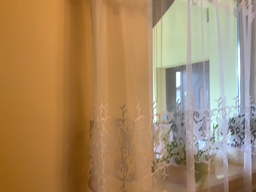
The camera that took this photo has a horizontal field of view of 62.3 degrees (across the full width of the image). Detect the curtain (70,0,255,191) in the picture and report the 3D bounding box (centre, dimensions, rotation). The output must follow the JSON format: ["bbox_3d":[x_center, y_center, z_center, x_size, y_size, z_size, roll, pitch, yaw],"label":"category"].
[{"bbox_3d":[0.620,0.030,1.470,1.950,2.850,0.310,-1,1,-31],"label":"curtain"}]
